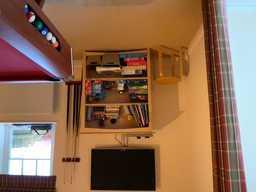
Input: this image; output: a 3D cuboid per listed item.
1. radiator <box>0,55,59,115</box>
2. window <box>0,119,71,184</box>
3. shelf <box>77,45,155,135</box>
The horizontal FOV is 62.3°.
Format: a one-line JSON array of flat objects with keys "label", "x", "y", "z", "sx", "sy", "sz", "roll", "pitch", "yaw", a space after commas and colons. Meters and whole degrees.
[{"label": "radiator", "x": -1.670, "y": -0.160, "z": 3.150, "sx": 1.190, "sy": 0.870, "sz": 0.160, "roll": 0, "pitch": 171, "yaw": 0}, {"label": "window", "x": -1.700, "y": 0.860, "z": 3.470, "sx": 1.340, "sy": 0.930, "sz": 0.650, "roll": 0, "pitch": 171, "yaw": -1}, {"label": "shelf", "x": -0.150, "y": -0.060, "z": 2.920, "sx": 0.970, "sy": 1.160, "sz": 0.450, "roll": -1, "pitch": 171, "yaw": 2}]
